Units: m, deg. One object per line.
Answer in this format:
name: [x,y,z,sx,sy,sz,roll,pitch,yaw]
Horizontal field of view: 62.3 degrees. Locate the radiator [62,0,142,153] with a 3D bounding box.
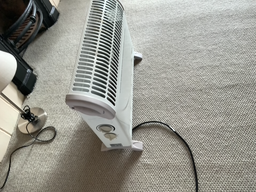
radiator: [-0.060,-0.110,0.840,0.140,0.380,0.550,-8,55,11]
